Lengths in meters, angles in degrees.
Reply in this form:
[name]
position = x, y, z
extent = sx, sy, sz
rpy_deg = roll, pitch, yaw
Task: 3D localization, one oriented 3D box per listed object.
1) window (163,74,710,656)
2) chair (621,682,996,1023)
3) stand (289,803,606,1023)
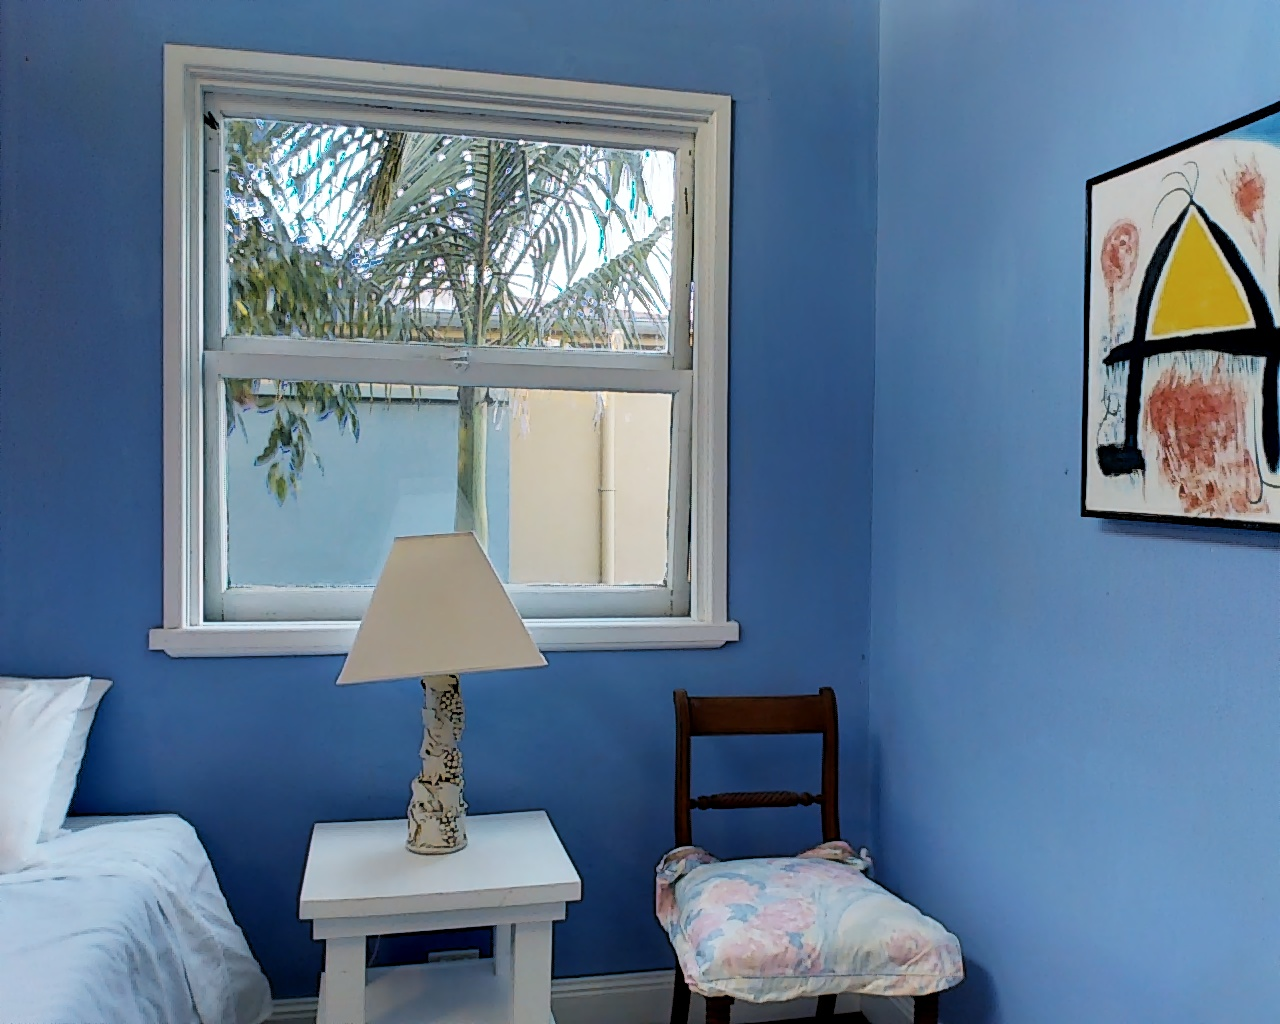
[window]
position = -0.450, -0.310, 2.530
extent = 1.220, 1.260, 0.130
rpy_deg = 1, 1, -13
[chair]
position = 0.310, 0.830, 2.270
extent = 0.570, 0.820, 0.650
rpy_deg = 1, 1, -13
[stand]
position = -0.390, 0.950, 2.150
extent = 0.550, 0.570, 0.500
rpy_deg = 1, 1, -13
